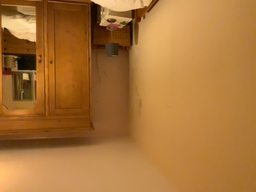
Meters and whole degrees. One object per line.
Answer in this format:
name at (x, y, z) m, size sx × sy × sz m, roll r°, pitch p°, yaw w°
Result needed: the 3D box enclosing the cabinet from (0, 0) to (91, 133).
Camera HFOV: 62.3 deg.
cabinet at (-1.480, -0.620, 2.940) m, size 1.870 × 2.140 × 0.670 m, roll 0°, pitch -178°, yaw -13°
